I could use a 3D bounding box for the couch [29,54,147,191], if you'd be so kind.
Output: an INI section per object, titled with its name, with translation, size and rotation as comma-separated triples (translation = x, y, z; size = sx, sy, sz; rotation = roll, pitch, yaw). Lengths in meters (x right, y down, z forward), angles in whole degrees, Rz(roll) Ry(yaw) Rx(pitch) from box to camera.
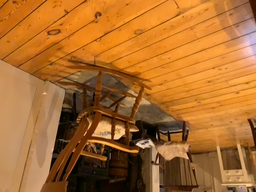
[couch]
translation = -0.340, 0.340, 1.940
size = 0.800, 1.080, 0.640
rotation = 13, 152, -20
